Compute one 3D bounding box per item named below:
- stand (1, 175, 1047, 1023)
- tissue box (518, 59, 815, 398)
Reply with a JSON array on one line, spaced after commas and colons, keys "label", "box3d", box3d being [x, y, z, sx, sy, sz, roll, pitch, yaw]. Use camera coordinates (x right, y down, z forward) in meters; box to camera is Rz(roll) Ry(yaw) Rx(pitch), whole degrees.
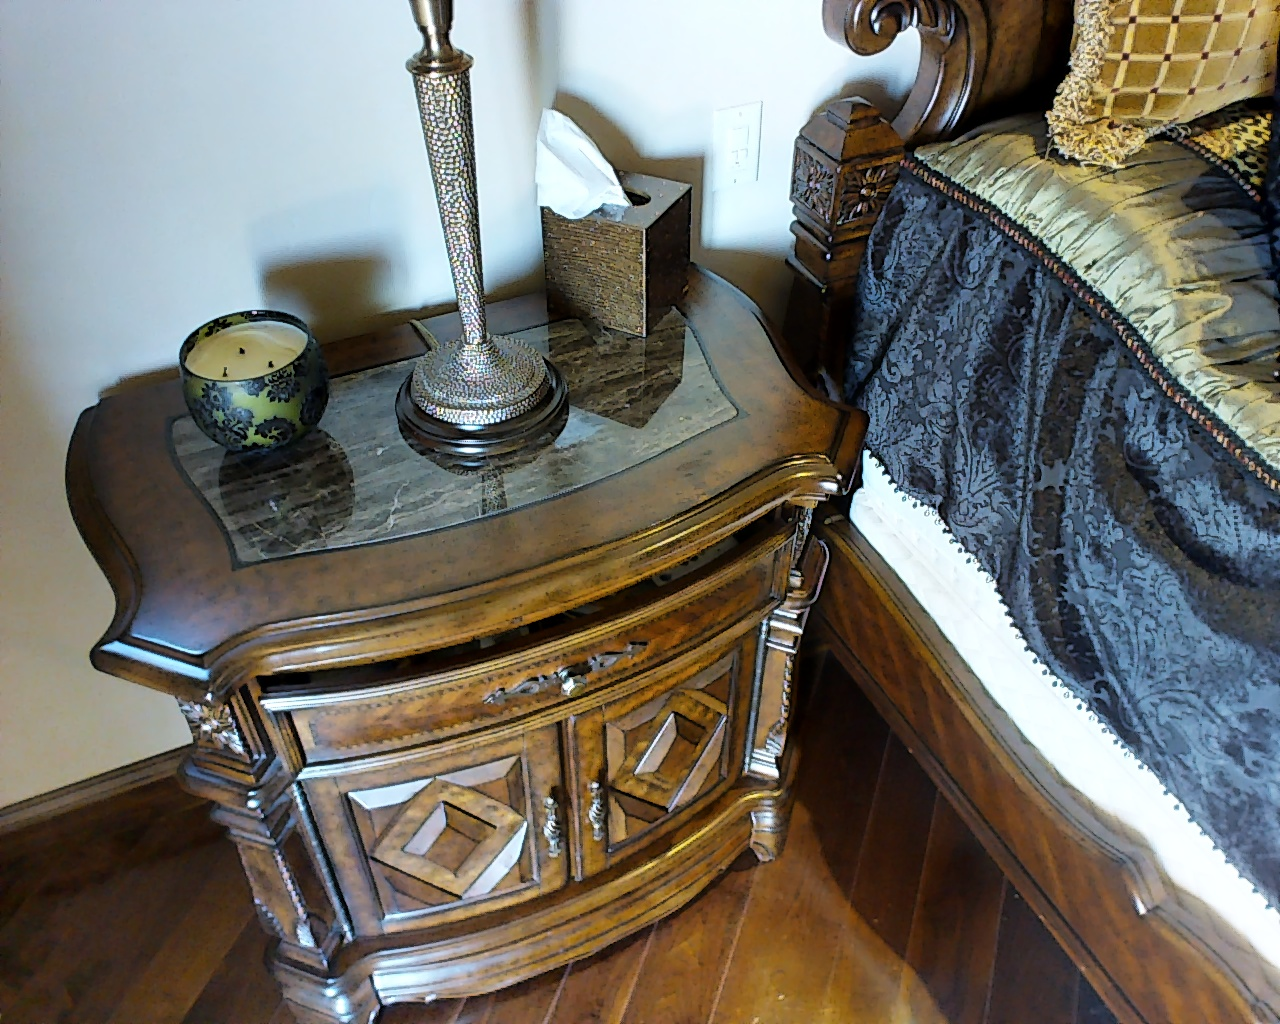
[{"label": "stand", "box3d": [-0.150, 0.190, 1.500, 1.010, 0.930, 0.610, -17, 45, -17]}, {"label": "tissue box", "box3d": [0.030, -0.370, 1.390, 0.290, 0.310, 0.220, -17, 45, -17]}]
